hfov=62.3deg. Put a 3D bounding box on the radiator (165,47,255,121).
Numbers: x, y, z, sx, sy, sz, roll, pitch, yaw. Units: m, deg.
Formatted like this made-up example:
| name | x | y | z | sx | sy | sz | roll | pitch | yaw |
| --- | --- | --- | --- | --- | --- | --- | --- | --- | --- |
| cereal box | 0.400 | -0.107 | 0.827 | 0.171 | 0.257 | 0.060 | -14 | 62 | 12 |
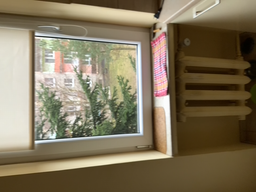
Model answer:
| name | x | y | z | sx | sy | sz | roll | pitch | yaw |
| --- | --- | --- | --- | --- | --- | --- | --- | --- | --- |
| radiator | 0.620 | -0.070 | 1.530 | 0.200 | 0.660 | 0.470 | 165 | 104 | -69 |
